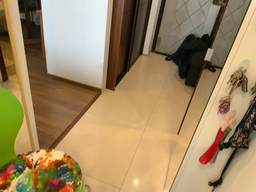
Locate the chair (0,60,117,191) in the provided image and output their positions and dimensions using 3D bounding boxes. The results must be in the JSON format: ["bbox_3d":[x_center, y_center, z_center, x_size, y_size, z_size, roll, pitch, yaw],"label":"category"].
[{"bbox_3d":[-0.430,0.380,0.960,0.530,0.850,0.470,18,36,11],"label":"chair"}]
